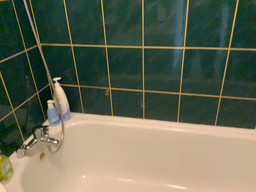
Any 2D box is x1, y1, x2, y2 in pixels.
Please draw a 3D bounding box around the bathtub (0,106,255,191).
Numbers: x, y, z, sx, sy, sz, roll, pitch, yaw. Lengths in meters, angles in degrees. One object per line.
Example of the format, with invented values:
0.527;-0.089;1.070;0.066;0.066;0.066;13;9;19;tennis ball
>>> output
0.250;0.570;1.070;1.700;0.590;0.710;6;29;14;bathtub
